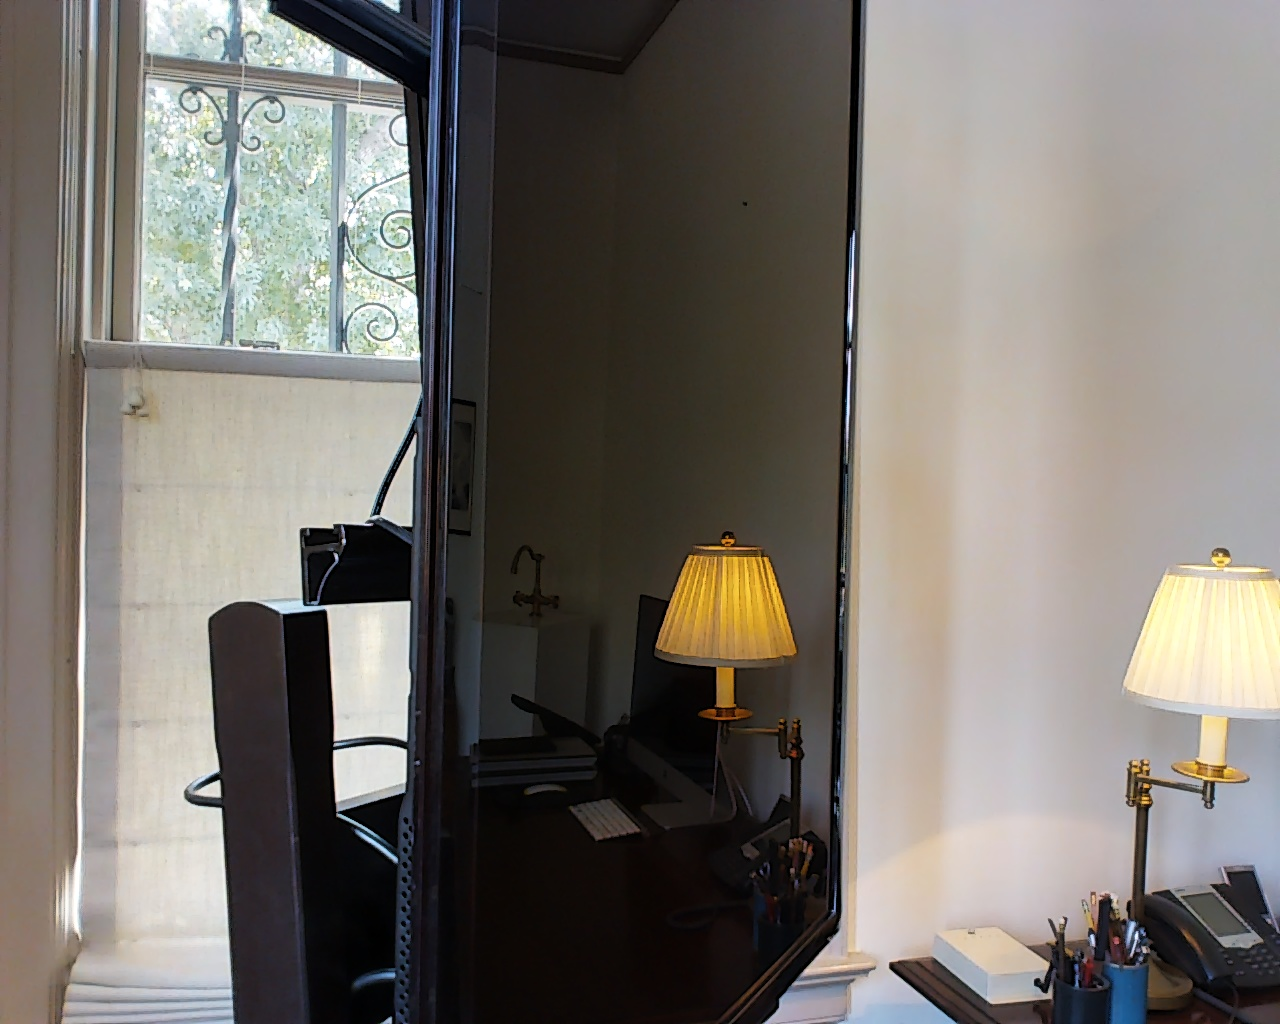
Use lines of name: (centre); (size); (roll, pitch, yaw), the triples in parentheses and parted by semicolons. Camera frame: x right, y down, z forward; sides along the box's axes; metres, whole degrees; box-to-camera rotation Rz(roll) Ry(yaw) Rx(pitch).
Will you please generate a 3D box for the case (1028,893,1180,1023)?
case: (0.680, 0.670, 1.570); (0.210, 0.150, 0.110); (1, 0, -36)
